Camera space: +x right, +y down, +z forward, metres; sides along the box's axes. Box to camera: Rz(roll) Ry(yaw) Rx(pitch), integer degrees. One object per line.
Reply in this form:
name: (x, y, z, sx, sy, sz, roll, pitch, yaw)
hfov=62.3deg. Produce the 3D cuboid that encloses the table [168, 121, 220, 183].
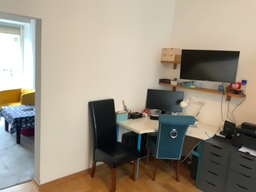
table: (1.020, 0.840, 3.330, 0.450, 0.710, 0.540, -4, 14, -43)

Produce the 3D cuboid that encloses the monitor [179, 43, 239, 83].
monitor: (1.100, -0.460, 2.940, 0.690, 0.440, 0.090, 13, 7, 20)

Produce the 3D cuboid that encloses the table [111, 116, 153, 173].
table: (0.060, 0.740, 3.400, 0.440, 0.710, 0.430, -4, 14, -43)

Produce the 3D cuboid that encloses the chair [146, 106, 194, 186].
chair: (0.580, 0.700, 3.120, 0.410, 0.980, 0.610, 4, 10, -8)

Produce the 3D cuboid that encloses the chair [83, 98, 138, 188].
chair: (-0.260, 0.610, 2.980, 0.450, 1.050, 0.540, -5, 14, -44)
